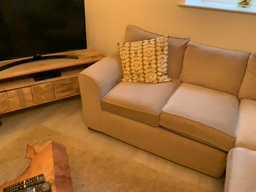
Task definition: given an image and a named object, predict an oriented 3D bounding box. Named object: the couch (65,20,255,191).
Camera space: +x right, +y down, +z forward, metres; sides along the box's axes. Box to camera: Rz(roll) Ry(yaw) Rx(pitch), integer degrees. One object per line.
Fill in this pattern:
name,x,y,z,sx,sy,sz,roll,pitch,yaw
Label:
couch,0.730,0.040,1.740,2.190,0.810,1.000,16,34,20
